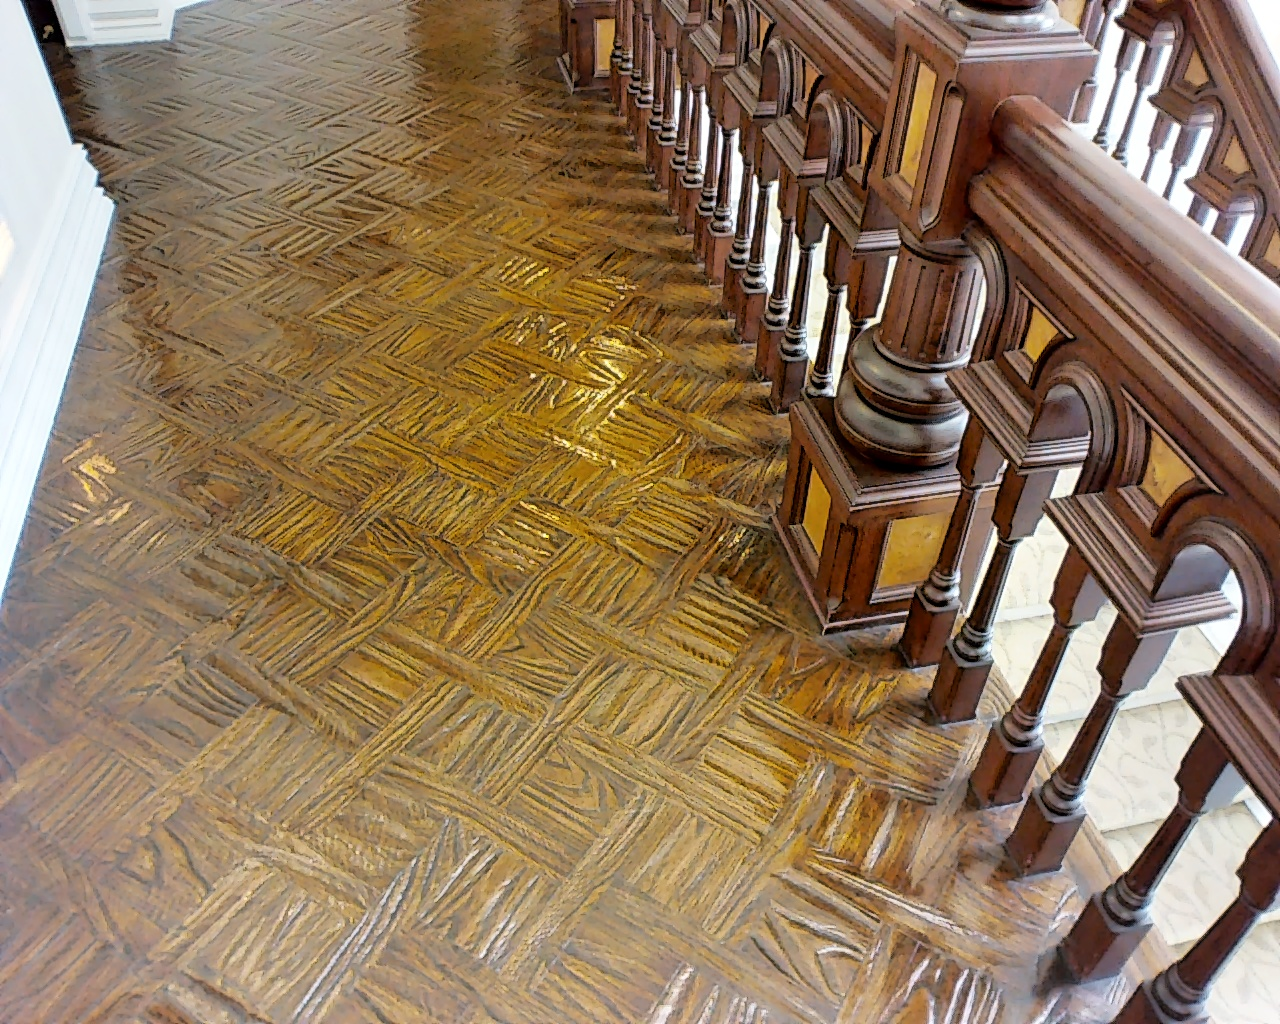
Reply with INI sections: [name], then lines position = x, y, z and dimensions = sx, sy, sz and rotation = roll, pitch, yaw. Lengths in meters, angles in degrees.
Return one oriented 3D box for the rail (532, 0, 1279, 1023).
[rail]
position = 0.810, 0.590, 0.810
dimensions = 0.580, 1.420, 8.200
rotation = -8, 42, -10
